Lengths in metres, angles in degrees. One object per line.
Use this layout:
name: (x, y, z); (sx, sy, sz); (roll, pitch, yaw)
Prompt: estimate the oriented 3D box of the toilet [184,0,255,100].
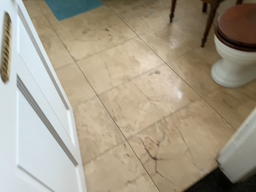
toilet: (0.840, -0.520, 1.310); (0.700, 0.820, 0.440); (-27, 57, -16)
